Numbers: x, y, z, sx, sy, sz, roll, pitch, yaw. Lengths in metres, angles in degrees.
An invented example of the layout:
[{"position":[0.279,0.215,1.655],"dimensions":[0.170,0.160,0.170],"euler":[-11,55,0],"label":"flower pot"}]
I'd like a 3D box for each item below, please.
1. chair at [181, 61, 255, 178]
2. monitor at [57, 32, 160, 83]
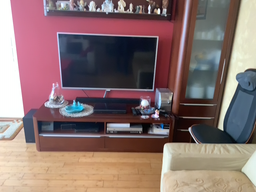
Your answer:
[{"position":[0.940,0.220,2.110],"dimensions":[0.550,1.030,0.510],"euler":[1,19,-4],"label":"chair"},{"position":[-0.240,-0.480,2.720],"dimensions":[1.260,0.600,0.060],"euler":[1,17,-6],"label":"monitor"}]
